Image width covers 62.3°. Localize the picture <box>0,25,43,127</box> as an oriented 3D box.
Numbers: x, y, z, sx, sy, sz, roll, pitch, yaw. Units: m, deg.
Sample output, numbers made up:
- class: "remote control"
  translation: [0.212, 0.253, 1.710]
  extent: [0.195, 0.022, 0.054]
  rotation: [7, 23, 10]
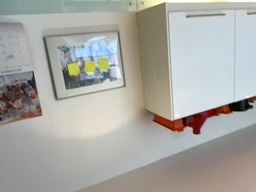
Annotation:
- class: "picture"
  translation: [-0.730, -0.110, 1.270]
  extent: [0.310, 0.590, 0.001]
  rotation: [-13, -164, -26]
